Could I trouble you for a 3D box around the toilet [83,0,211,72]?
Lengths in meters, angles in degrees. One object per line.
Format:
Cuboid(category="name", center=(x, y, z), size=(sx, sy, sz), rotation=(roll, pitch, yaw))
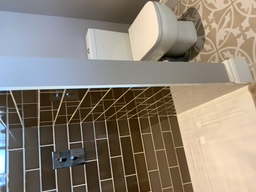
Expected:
Cuboid(category="toilet", center=(0.110, -0.500, 1.730), size=(0.600, 0.810, 0.380), rotation=(141, 123, -62))
